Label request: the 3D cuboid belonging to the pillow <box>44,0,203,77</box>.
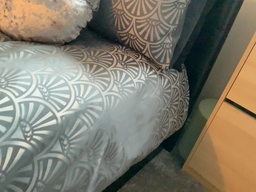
[{"bbox_3d":[-0.040,-0.350,0.710,0.510,0.470,0.220,12,28,35],"label":"pillow"}]
